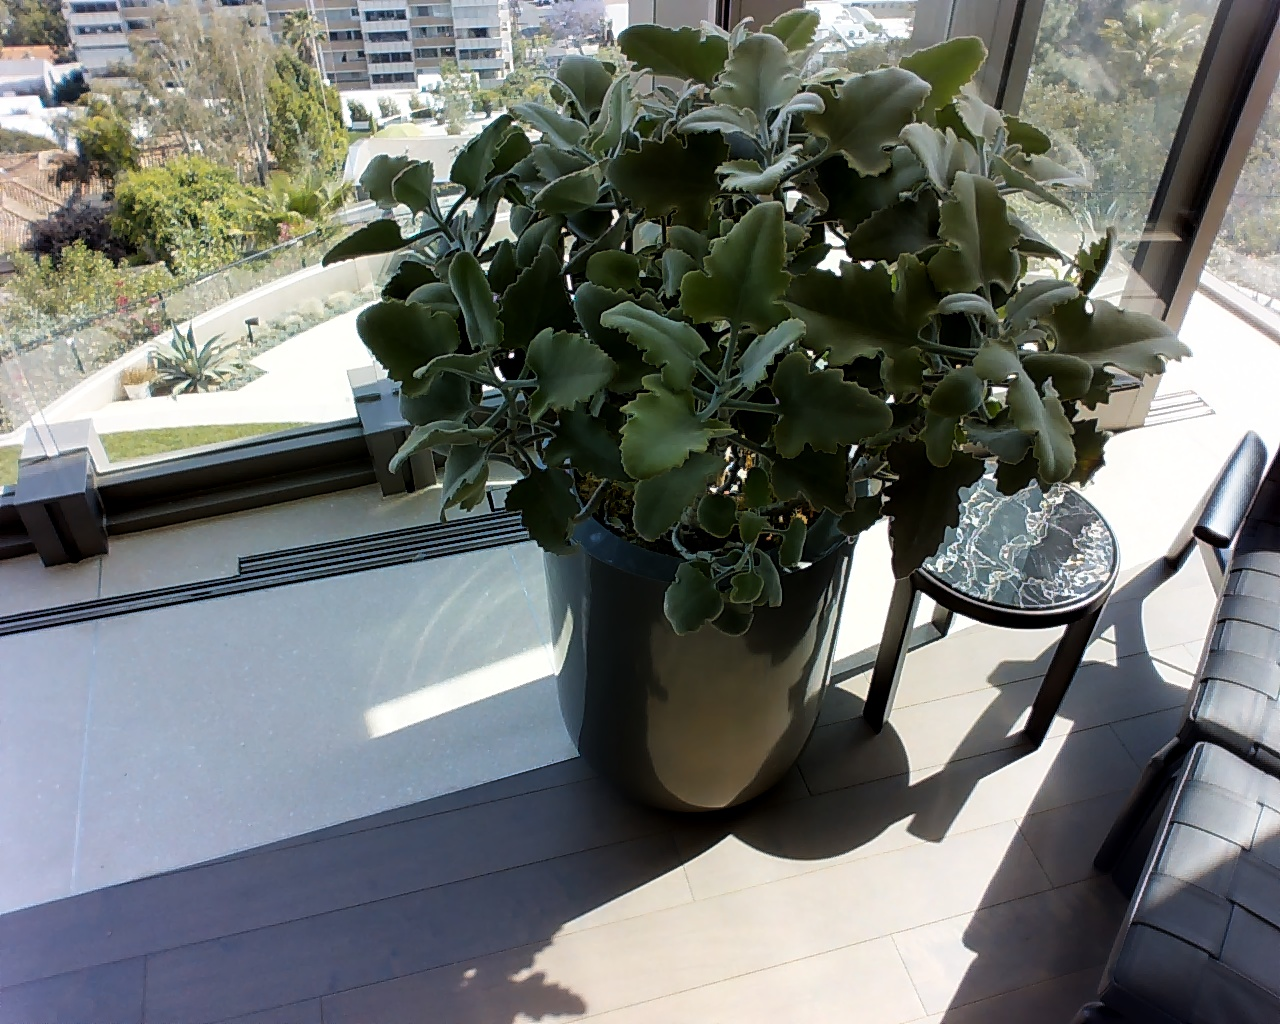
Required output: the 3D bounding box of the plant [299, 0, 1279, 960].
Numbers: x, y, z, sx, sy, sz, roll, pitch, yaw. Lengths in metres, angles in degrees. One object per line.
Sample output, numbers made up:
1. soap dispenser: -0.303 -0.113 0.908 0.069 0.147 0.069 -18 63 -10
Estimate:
1. plant: 0.120 -0.030 1.470 0.740 1.170 0.720 2 42 2
